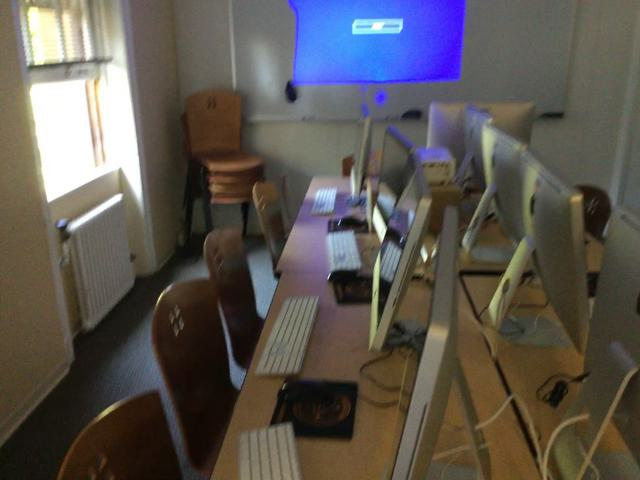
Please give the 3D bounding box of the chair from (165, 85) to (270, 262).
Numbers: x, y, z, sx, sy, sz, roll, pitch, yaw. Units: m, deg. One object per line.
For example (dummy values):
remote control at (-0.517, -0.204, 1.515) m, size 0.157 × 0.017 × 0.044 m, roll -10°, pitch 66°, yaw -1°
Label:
chair at (-0.680, -0.470, 3.900) m, size 0.470 × 1.060 × 0.470 m, roll -15°, pitch 25°, yaw -35°

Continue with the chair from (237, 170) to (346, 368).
chair at (-0.100, 0.120, 2.740) m, size 0.430 × 0.790 × 0.530 m, roll 0°, pitch 20°, yaw 3°

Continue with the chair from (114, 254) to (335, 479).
chair at (-0.200, 0.500, 1.630) m, size 0.460 × 0.790 × 0.500 m, roll 0°, pitch 20°, yaw 3°

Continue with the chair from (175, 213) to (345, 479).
chair at (-0.160, 0.350, 2.050) m, size 0.480 × 0.770 × 0.520 m, roll 0°, pitch 20°, yaw 3°
